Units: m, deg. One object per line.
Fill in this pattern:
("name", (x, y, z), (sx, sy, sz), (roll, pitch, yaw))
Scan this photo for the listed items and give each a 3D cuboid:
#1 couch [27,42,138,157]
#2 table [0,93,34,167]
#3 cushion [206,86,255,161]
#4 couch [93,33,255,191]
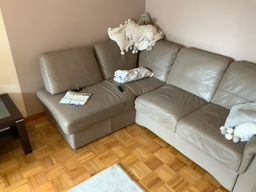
("couch", (-0.520, -0.050, 2.470), (0.840, 0.830, 0.920), (-19, 35, -32))
("table", (-1.390, 0.360, 2.120), (0.610, 0.420, 0.640), (-19, 35, -32))
("cushion", (1.040, 0.210, 1.730), (0.550, 0.280, 0.520), (-23, 37, -37))
("couch", (0.590, -0.030, 2.450), (0.900, 0.850, 2.310), (-19, 35, -32))
